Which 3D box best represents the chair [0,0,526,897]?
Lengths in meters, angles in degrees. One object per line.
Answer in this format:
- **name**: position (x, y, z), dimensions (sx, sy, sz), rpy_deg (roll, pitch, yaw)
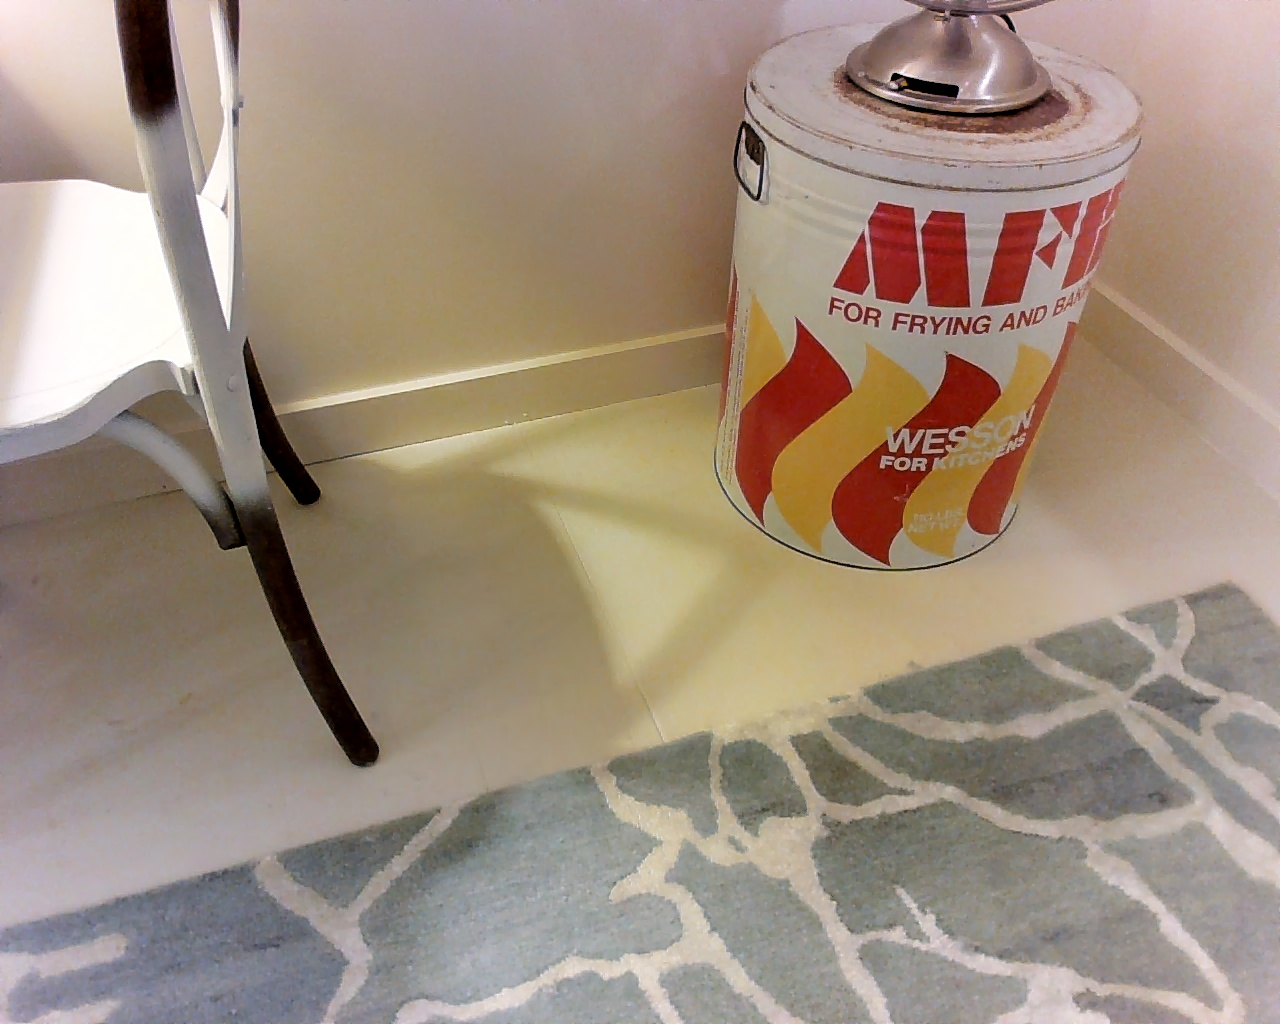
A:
- **chair**: position (-0.510, -0.190, 0.940), dimensions (0.640, 0.880, 0.560), rpy_deg (-13, 43, -15)
